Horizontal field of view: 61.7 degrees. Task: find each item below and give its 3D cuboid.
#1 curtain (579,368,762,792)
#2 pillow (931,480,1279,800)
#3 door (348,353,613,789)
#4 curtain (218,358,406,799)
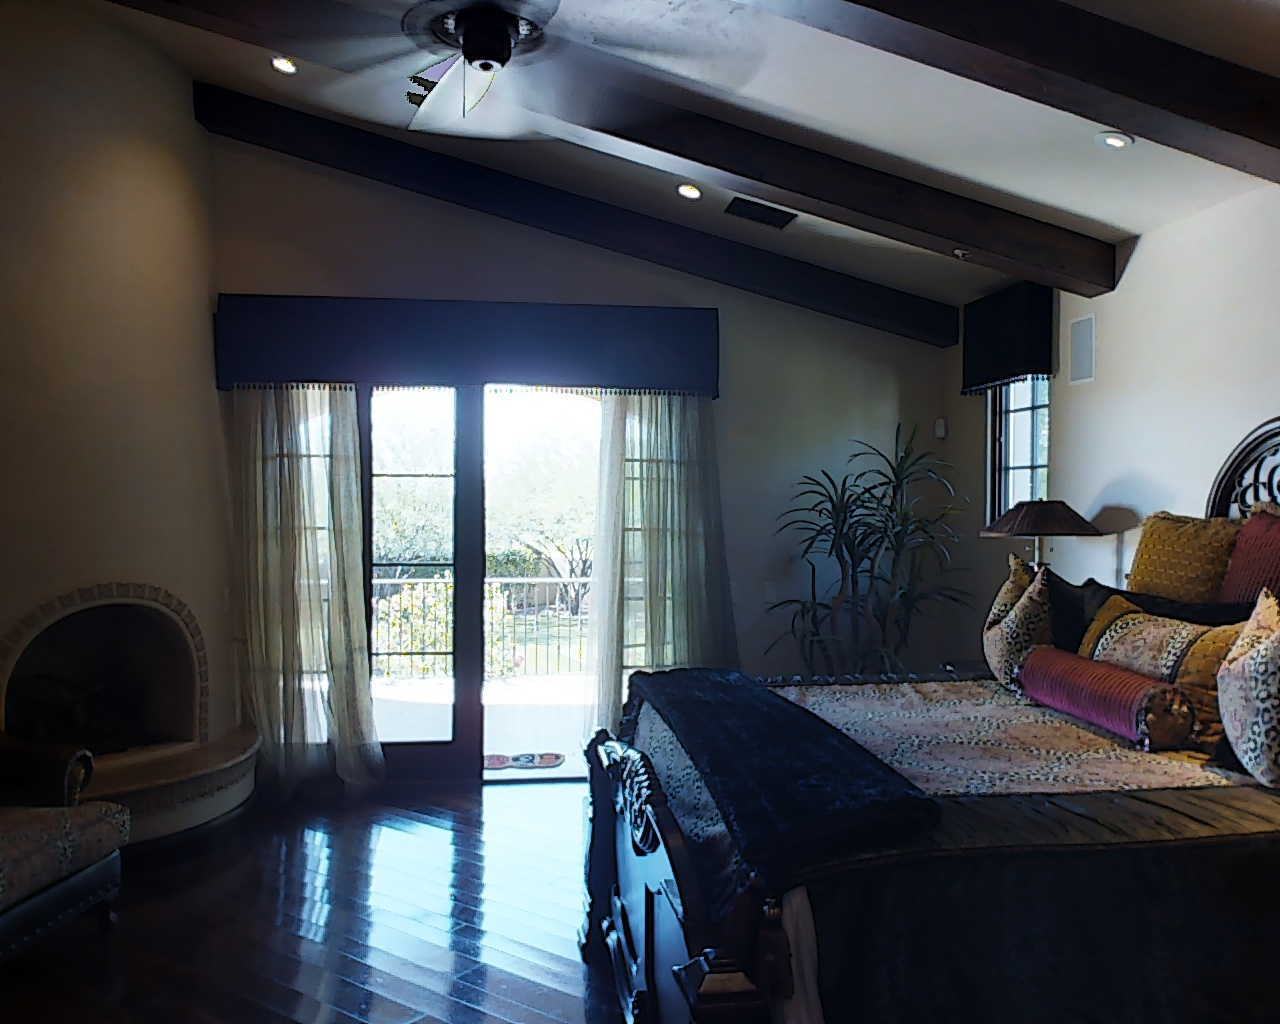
[{"bbox_3d":[0.160,0.370,5.980,0.960,2.280,0.330,0,0,-7],"label":"curtain"},{"bbox_3d":[1.730,0.270,3.210,1.050,0.680,1.760,0,0,-8],"label":"pillow"},{"bbox_3d":[-0.880,0.320,6.010,1.400,2.330,0.410,0,0,-7],"label":"door"},{"bbox_3d":[-1.760,0.350,5.820,0.910,2.300,0.380,0,0,-7],"label":"curtain"}]
